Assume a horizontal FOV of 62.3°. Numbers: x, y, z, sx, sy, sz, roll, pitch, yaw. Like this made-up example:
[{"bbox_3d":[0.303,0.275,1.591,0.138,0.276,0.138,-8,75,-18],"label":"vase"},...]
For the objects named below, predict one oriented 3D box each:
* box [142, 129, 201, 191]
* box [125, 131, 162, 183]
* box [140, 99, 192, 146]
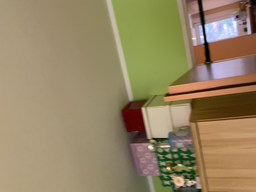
[{"bbox_3d":[0.280,0.400,1.280,0.290,0.260,0.270,-45,-57,-62],"label":"box"},{"bbox_3d":[0.110,0.410,1.420,0.130,0.150,0.310,-46,-56,-61],"label":"box"},{"bbox_3d":[0.230,0.160,1.260,0.130,0.250,0.220,-49,-53,-60],"label":"box"}]
